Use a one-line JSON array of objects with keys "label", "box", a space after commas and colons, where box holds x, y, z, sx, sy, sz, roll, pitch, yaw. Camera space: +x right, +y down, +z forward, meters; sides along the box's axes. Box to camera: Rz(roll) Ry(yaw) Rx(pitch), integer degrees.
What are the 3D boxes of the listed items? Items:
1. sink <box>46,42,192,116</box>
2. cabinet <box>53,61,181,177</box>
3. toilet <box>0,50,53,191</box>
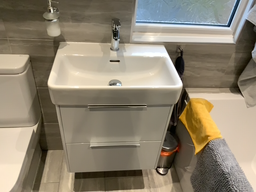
[{"label": "sink", "box": [-0.050, -0.100, 1.010, 0.570, 0.140, 0.380, -1, 40, -9]}, {"label": "cabinet", "box": [-0.080, 0.130, 1.200, 0.540, 0.530, 0.370, -1, 40, -9]}, {"label": "toilet", "box": [-0.680, 0.270, 1.090, 0.370, 0.800, 0.600, 0, 40, -8]}]
